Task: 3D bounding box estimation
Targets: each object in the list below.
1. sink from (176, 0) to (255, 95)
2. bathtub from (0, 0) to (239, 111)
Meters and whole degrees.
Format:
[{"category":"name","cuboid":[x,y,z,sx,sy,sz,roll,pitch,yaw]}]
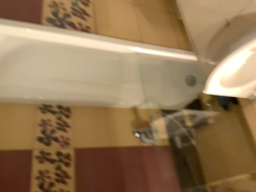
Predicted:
[{"category":"sink","cuboid":[0.540,-0.220,0.960,0.390,0.200,0.490,4,150,-24]},{"category":"bathtub","cuboid":[-0.160,-0.330,1.500,1.590,0.570,0.700,4,150,-24]}]
